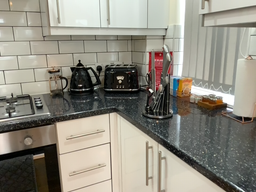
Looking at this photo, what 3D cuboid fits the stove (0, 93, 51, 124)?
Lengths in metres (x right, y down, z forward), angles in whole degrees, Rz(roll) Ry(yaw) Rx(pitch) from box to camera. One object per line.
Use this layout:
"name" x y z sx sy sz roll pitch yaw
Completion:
"stove" -0.800 0.080 1.290 0.560 0.020 0.530 -8 16 -26

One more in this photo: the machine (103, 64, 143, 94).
"machine" -0.030 -0.140 1.670 0.290 0.200 0.210 0 15 2

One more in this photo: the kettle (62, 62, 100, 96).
"kettle" -0.360 -0.140 1.630 0.240 0.220 0.170 -8 16 -25
